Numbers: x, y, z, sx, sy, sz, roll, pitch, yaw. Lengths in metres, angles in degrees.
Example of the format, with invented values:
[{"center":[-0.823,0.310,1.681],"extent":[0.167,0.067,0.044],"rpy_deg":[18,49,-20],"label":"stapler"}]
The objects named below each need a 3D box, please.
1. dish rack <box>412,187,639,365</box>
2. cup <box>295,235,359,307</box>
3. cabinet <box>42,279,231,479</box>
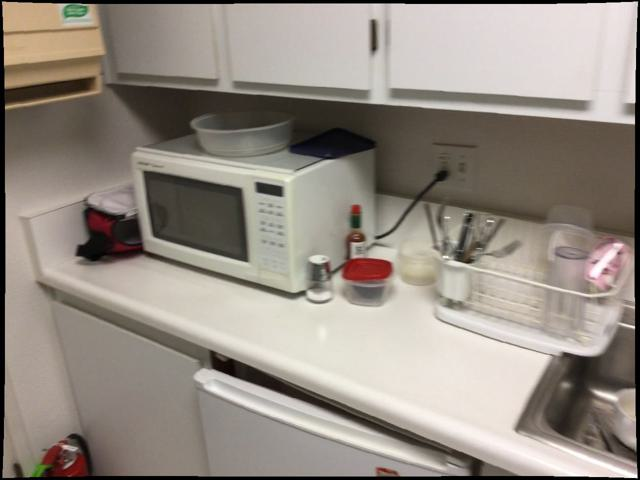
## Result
[{"center":[0.440,0.050,1.240],"extent":[0.370,0.200,0.310],"rpy_deg":[14,27,32],"label":"dish rack"},{"center":[0.020,0.070,1.380],"extent":[0.080,0.110,0.150],"rpy_deg":[14,27,32],"label":"cup"},{"center":[-0.490,0.561,1.600],"extent":[0.600,0.821,0.060],"rpy_deg":[14,27,32],"label":"cabinet"}]
